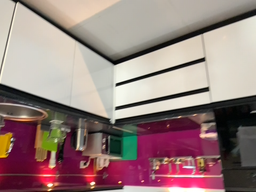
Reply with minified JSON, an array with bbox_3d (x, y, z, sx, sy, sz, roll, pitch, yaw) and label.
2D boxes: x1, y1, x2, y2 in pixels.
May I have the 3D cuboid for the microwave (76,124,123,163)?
[{"bbox_3d":[-0.340,0.620,2.690,0.330,0.410,0.500,-12,157,31],"label":"microwave"}]
